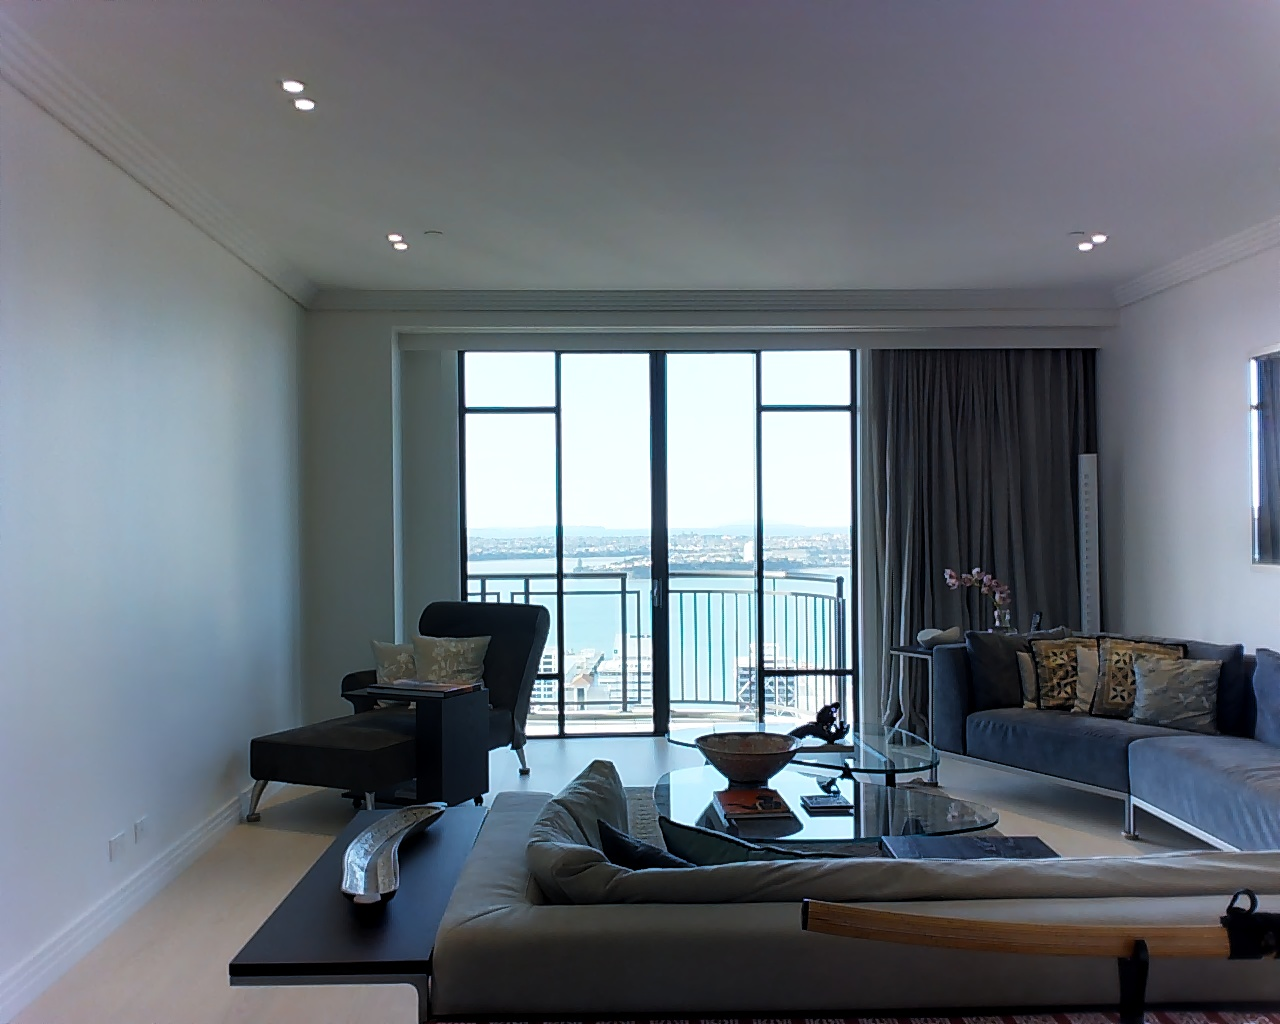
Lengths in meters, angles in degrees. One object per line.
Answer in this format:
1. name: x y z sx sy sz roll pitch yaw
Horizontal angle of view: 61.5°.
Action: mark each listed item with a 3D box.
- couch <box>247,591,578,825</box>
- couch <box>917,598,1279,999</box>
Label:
1. couch: -1.120 0.940 5.740 0.840 0.890 1.750 0 0 25
2. couch: 2.369 0.920 4.590 1.440 0.820 3.190 -1 0 -2
